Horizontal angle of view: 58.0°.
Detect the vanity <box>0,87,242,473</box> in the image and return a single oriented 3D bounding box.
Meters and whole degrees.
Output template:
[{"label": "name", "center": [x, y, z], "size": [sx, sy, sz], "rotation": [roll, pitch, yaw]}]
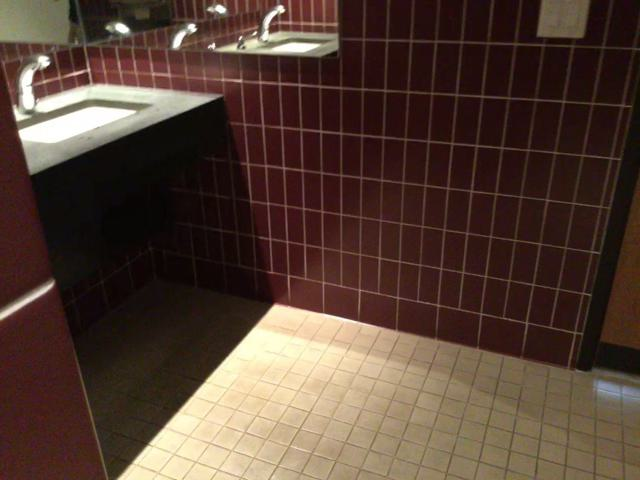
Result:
[{"label": "vanity", "center": [-0.940, 0.080, 1.650], "size": [0.600, 0.710, 1.660], "rotation": [9, 27, 22]}]
